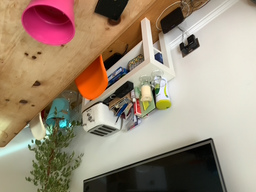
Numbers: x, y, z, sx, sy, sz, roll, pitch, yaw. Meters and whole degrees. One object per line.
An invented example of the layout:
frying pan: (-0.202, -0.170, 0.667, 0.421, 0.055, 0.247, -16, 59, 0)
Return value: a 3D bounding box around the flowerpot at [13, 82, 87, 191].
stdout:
flowerpot: (-0.860, 0.580, 2.410, 0.460, 1.290, 0.550, 23, 141, -35)
